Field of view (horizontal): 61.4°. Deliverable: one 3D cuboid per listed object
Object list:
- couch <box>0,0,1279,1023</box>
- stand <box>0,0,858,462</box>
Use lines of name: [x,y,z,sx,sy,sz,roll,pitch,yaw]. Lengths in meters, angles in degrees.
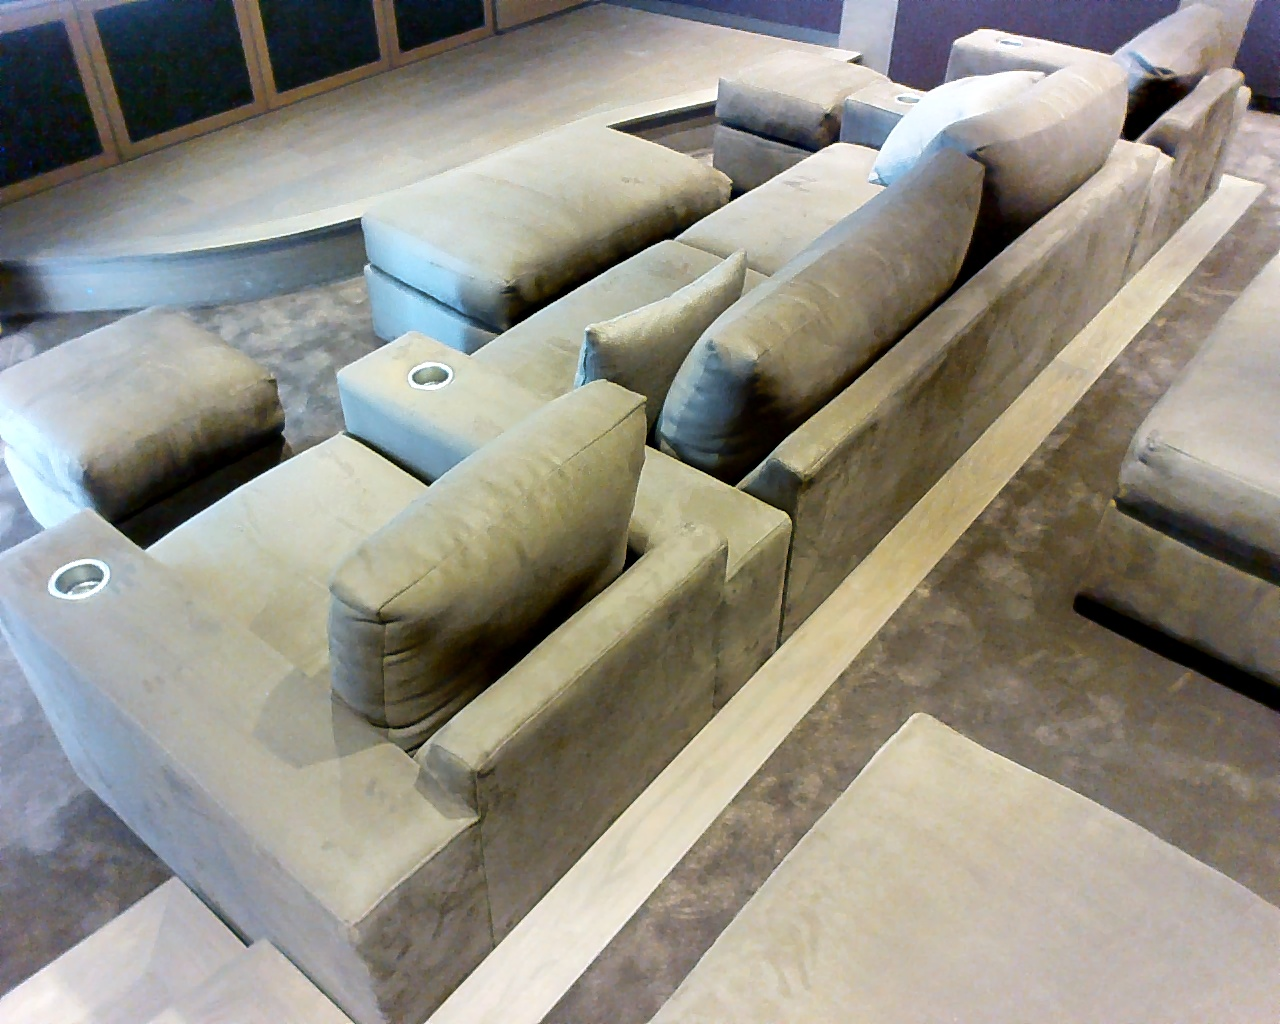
couch: [0.430,-0.520,2.760,1.070,0.960,3.870,28,47,29]
stand: [-0.670,-1.460,4.410,1.590,0.230,3.580,26,46,27]
